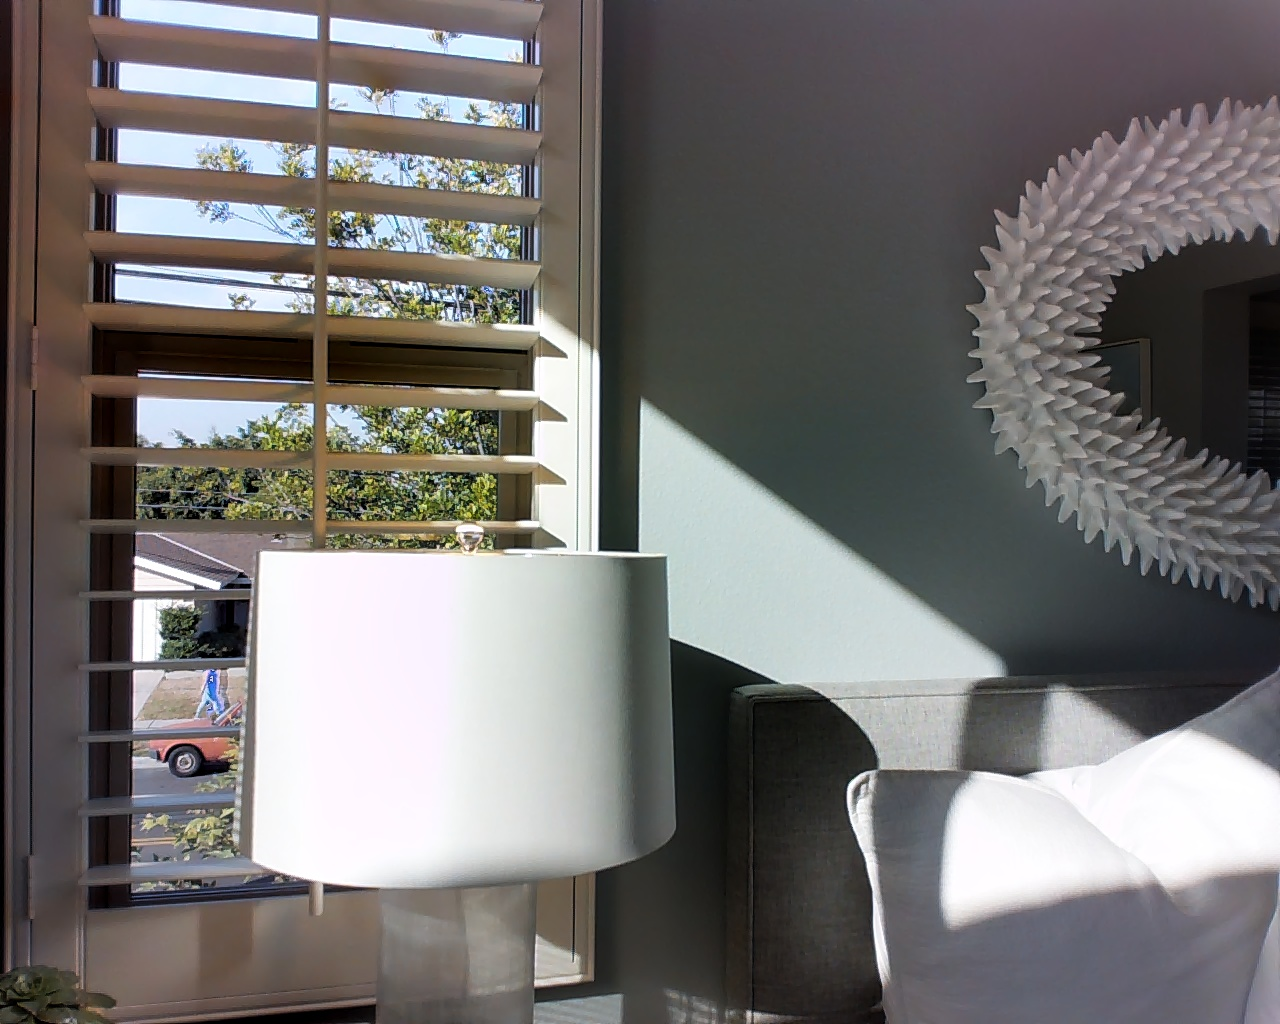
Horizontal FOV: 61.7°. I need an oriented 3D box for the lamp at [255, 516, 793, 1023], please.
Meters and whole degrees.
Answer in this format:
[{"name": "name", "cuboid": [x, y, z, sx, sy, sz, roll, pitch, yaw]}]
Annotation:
[{"name": "lamp", "cuboid": [-0.130, 0.350, 0.990, 0.420, 0.690, 0.350, 0, -1, -21]}]
